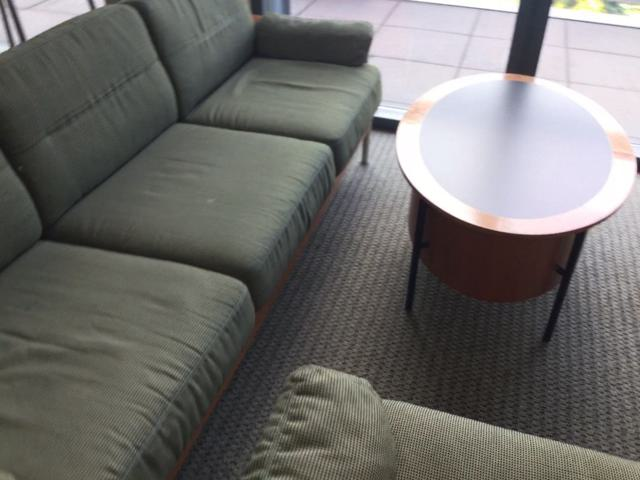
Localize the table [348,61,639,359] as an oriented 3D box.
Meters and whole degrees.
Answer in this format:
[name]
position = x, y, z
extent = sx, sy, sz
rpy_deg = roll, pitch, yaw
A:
[table]
position = 0.580, -0.200, 1.860
extent = 0.700, 0.380, 1.060
rpy_deg = 9, 37, 17
